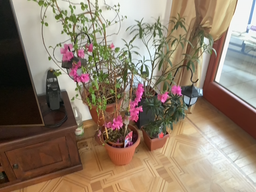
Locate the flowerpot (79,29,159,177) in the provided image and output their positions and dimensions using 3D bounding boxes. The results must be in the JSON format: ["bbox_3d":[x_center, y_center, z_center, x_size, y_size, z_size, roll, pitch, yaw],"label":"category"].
[{"bbox_3d":[-0.090,0.050,1.600,0.330,0.920,0.540,-13,36,-20],"label":"flowerpot"}]

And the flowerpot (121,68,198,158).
[{"bbox_3d":[0.230,0.120,1.840,0.390,0.490,0.510,-16,37,-23],"label":"flowerpot"}]
